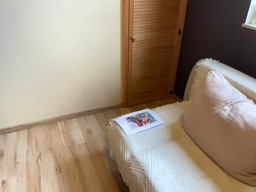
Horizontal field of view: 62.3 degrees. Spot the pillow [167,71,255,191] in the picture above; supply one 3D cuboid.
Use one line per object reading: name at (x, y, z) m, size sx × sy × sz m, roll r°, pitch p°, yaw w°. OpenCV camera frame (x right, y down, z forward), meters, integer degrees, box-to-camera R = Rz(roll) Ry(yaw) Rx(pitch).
pillow at (0.590, 0.170, 1.290) m, size 0.330 × 0.380 × 0.650 m, roll -13°, pitch 34°, yaw -23°
